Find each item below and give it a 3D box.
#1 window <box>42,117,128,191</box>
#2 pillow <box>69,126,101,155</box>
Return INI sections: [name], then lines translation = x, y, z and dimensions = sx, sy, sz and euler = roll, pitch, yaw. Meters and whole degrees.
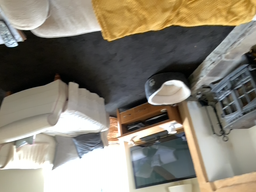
[window]
translation = -0.670, 1.440, 3.410
dimensions = 1.300, 2.240, 0.270
euler = 1, 152, -16
[pillow]
translation = -0.550, 0.590, 2.770
dimensions = 0.360, 0.250, 0.390
euler = -4, 153, -6
